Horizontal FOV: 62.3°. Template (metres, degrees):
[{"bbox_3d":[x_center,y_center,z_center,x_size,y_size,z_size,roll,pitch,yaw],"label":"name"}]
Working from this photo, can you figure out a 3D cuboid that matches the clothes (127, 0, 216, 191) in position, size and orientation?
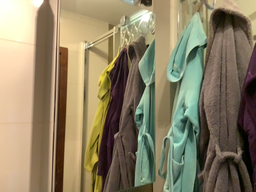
[{"bbox_3d":[0.180,0.180,0.970,0.190,1.190,0.360,4,-5,-35],"label":"clothes"}]

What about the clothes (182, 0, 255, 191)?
[{"bbox_3d":[0.430,0.160,0.800,0.440,1.130,0.180,3,-5,-31],"label":"clothes"}]
